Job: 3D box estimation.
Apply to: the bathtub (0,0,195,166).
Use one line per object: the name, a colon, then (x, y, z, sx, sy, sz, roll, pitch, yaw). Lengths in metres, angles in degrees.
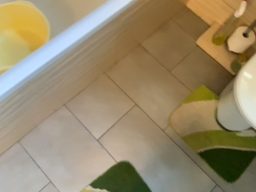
bathtub: (-0.350, -0.430, 1.130, 1.590, 0.560, 0.680, -41, 78, -16)
